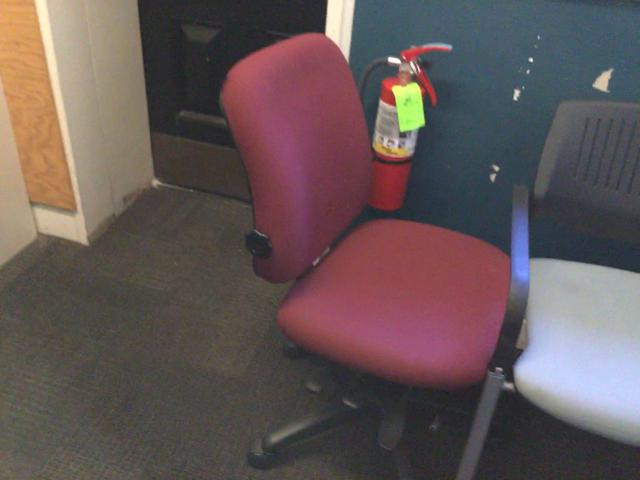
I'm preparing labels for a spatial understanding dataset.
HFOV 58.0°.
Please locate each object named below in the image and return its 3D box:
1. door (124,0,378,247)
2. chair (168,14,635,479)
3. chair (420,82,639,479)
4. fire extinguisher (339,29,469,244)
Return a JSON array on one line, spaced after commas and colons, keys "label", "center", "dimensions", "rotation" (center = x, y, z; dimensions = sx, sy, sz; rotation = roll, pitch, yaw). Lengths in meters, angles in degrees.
[{"label": "door", "center": [-0.230, -0.750, 1.860], "dimensions": [0.800, 1.550, 0.170], "rotation": [13, 34, 11]}, {"label": "chair", "center": [0.120, 0.070, 1.300], "dimensions": [0.650, 0.910, 0.560], "rotation": [28, 39, 30]}, {"label": "chair", "center": [0.620, 0.220, 1.220], "dimensions": [0.630, 0.850, 0.580], "rotation": [13, 34, 11]}, {"label": "fire extinguisher", "center": [0.200, -0.250, 1.450], "dimensions": [0.230, 0.480, 0.140], "rotation": [13, 34, 11]}]
